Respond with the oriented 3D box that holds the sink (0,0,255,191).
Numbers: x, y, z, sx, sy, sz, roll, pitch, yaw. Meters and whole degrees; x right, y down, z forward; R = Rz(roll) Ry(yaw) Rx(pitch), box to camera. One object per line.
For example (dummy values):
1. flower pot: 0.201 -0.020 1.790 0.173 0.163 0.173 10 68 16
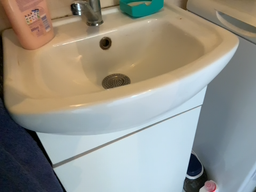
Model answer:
1. sink: -0.020 -0.080 0.500 0.450 0.150 0.380 -20 45 -18
